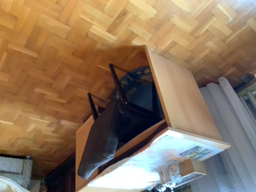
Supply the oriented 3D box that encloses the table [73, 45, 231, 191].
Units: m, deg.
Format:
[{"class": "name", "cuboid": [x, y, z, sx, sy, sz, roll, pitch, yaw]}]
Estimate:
[{"class": "table", "cuboid": [0.070, 0.320, 1.890, 0.590, 0.730, 1.210, 20, 133, -34]}]
